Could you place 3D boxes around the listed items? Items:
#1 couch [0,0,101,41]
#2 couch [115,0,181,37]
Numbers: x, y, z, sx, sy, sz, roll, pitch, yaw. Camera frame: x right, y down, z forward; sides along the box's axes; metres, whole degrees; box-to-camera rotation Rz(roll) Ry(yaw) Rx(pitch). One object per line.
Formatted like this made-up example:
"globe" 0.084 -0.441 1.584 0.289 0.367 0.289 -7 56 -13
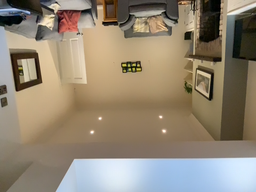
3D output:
"couch" -1.230 -1.500 3.500 1.140 1.050 2.320 -1 -167 2
"couch" 0.490 -2.050 5.420 1.490 0.920 1.090 -1 -167 5
